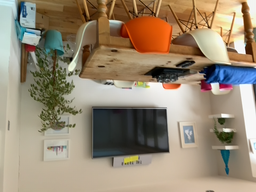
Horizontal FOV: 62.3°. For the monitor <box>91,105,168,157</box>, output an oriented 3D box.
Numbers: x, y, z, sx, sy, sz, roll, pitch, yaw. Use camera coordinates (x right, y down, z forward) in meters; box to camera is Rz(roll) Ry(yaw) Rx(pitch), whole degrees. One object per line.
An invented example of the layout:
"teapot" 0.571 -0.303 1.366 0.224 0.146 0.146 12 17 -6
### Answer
"monitor" 0.040 0.510 3.240 1.210 0.730 0.080 2 170 -21
